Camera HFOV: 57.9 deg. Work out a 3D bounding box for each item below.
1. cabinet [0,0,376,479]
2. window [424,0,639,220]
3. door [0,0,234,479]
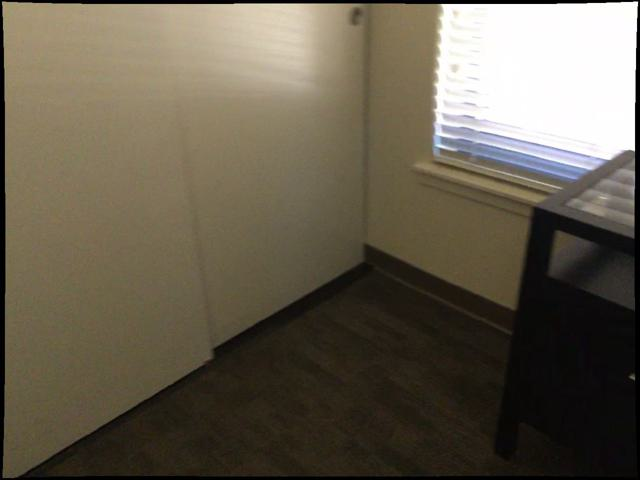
[{"bbox_3d":[-0.499,-0.150,1.620,0.150,1.421,1.919,24,39,37],"label":"cabinet"},{"bbox_3d":[0.869,-0.470,1.550,0.100,0.831,1.320,-28,39,-36],"label":"window"},{"bbox_3d":[-0.699,-0.040,1.460,0.110,1.391,0.950,25,40,38],"label":"door"}]
